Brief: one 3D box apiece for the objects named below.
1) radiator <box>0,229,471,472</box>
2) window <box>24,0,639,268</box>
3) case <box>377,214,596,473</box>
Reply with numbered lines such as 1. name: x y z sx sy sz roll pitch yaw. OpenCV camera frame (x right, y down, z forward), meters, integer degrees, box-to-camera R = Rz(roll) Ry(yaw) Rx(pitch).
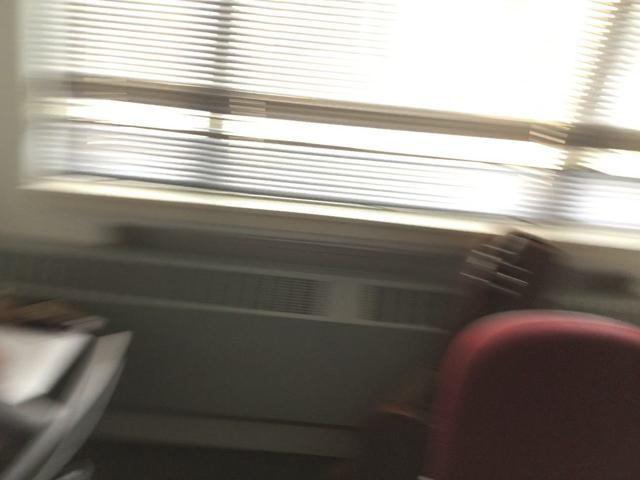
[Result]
1. radiator: -0.310 0.340 1.810 1.420 0.560 0.250 6 20 1
2. window: 0.230 -0.380 1.630 2.020 0.760 0.190 6 20 1
3. case: 0.420 0.280 1.620 0.430 0.600 0.310 6 20 1
